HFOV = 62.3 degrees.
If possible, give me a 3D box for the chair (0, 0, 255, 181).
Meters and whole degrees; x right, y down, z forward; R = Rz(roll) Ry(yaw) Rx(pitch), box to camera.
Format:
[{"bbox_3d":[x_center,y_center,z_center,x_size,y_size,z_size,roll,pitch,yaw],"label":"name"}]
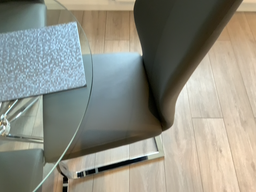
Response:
[{"bbox_3d":[-0.080,-0.040,0.820,0.550,1.020,0.440,-12,62,-7],"label":"chair"}]
